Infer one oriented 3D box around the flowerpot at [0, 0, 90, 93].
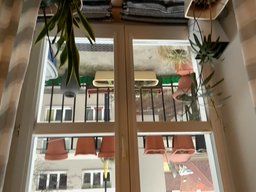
[{"bbox_3d":[-0.470,-0.370,1.260,0.370,0.580,0.290,15,153,-35],"label":"flowerpot"}]
